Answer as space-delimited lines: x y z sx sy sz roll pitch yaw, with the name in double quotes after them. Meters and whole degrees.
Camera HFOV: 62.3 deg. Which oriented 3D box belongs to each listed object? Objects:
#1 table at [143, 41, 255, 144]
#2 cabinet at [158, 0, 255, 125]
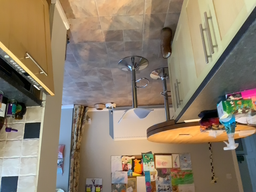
0.740 0.030 2.610 0.980 0.940 0.970 -2 161 -1 "table"
0.500 -0.390 1.500 0.300 0.870 1.600 -2 161 0 "cabinet"
